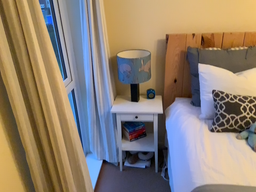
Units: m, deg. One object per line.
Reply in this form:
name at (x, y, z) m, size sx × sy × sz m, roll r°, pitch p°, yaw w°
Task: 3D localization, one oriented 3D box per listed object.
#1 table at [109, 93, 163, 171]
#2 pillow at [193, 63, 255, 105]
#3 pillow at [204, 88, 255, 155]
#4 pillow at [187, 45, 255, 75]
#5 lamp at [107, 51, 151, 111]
table at (0.100, 0.360, 2.170) m, size 0.480 × 0.690 × 0.370 m, roll 0°, pitch 25°, yaw 6°
pillow at (0.800, -0.100, 1.630) m, size 0.540 × 0.340 × 0.130 m, roll 1°, pitch -45°, yaw 9°
pillow at (0.740, 0.160, 1.400) m, size 0.390 × 0.400 × 0.170 m, roll -1°, pitch -35°, yaw 11°
pillow at (0.800, -0.300, 1.770) m, size 0.580 × 0.230 × 0.070 m, roll 1°, pitch -10°, yaw 7°
lamp at (0.030, -0.140, 1.890) m, size 0.350 × 0.460 × 0.280 m, roll 0°, pitch 25°, yaw 6°
